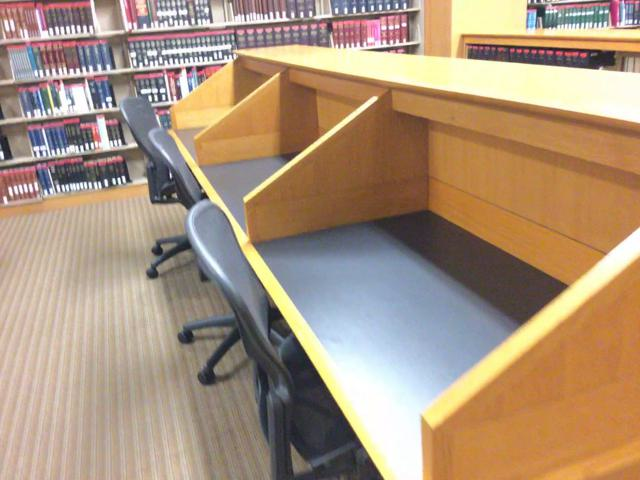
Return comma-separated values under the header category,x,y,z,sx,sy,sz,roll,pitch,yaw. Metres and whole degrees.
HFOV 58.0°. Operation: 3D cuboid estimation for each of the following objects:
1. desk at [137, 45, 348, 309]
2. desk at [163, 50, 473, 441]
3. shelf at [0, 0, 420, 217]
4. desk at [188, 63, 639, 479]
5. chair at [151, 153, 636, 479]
category,x,y,z,sx,sy,sz,roll,pitch,yaw
desk,-0.510,-0.500,3.490,0.820,1.230,1.360,-10,22,-21
desk,-0.110,-0.150,2.510,0.750,1.210,1.380,-10,22,-21
shelf,-2.420,-1.190,4.640,7.070,1.820,0.670,-10,22,-21
desk,0.270,0.230,1.490,0.830,1.210,1.290,-10,22,-21
chair,0.100,0.390,1.510,0.880,1.030,0.730,-7,21,-11
